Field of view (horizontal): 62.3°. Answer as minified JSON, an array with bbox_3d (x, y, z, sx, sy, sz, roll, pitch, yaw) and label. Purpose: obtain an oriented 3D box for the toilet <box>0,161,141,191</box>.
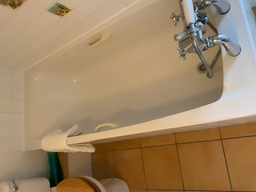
[{"bbox_3d":[-0.400,0.760,1.520,0.680,0.760,0.420,-17,75,35],"label":"toilet"}]
